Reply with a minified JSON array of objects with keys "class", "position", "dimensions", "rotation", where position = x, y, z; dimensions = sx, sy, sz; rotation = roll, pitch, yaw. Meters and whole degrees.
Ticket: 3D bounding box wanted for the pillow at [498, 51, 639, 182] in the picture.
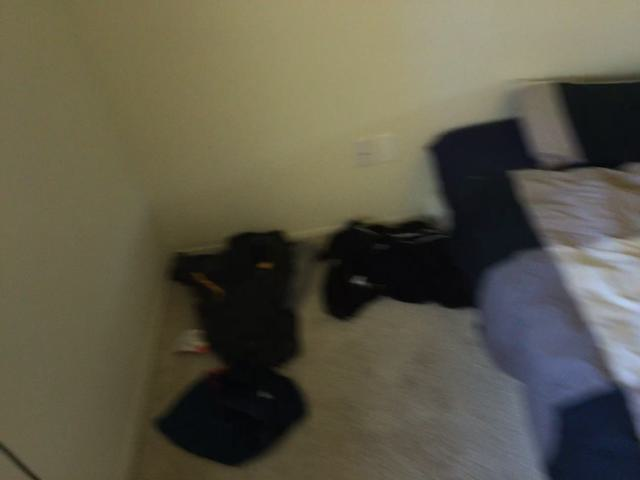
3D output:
[{"class":"pillow","position":[1.000,-0.440,1.890],"dimensions":[0.680,0.160,0.480],"rotation":[-12,33,3]}]
